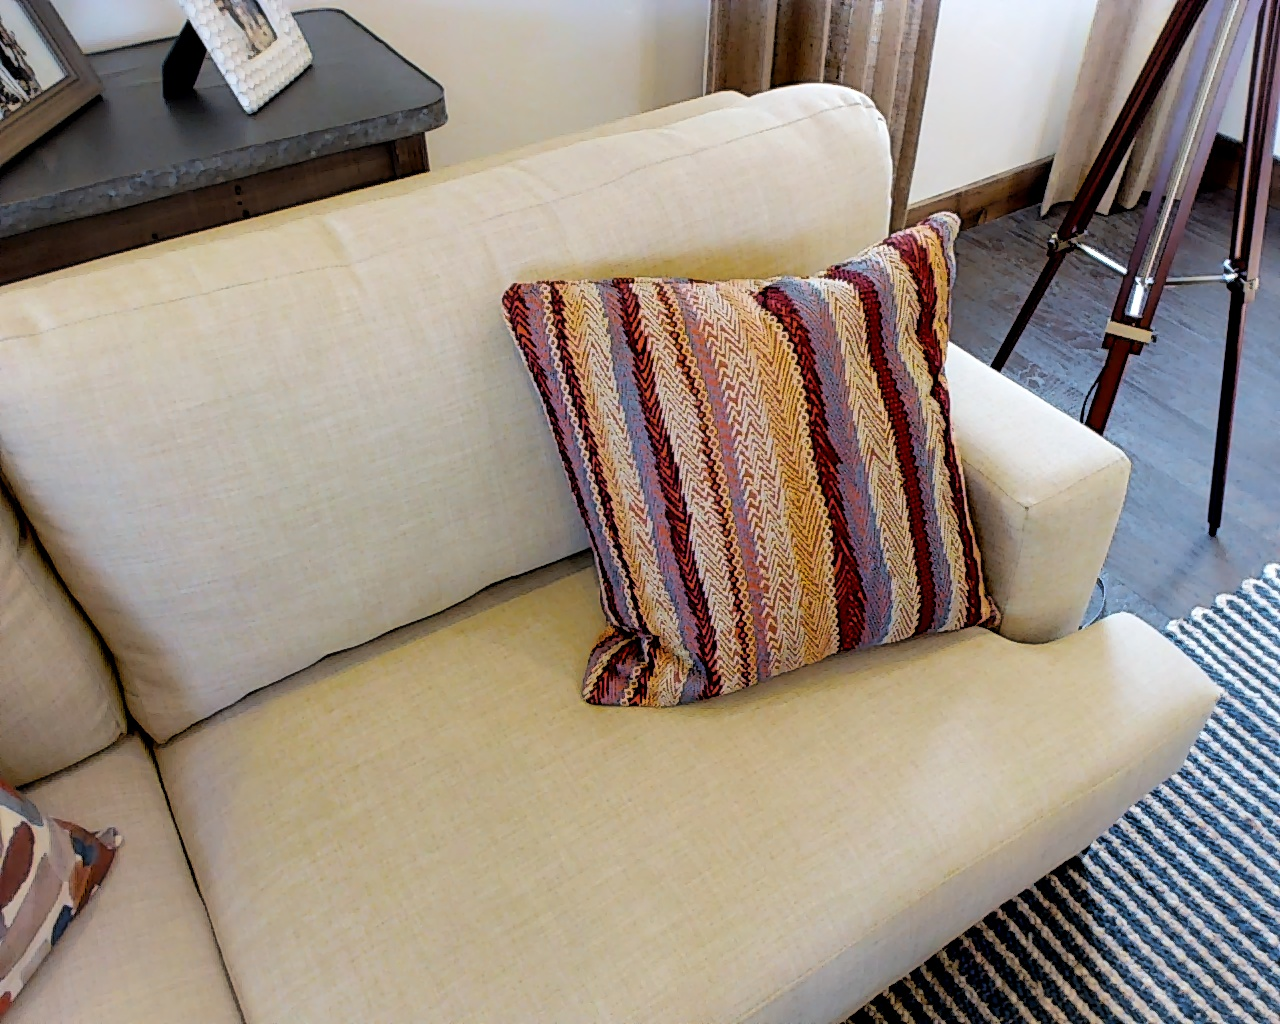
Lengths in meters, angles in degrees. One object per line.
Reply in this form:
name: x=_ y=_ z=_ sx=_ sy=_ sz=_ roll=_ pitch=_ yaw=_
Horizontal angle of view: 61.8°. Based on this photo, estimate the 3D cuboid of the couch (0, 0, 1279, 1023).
couch: x=-0.500 y=0.310 z=1.090 sx=2.290 sy=0.930 sz=1.090 roll=-24 pitch=47 yaw=-23

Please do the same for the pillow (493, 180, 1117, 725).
pillow: x=0.180 y=-0.050 z=1.190 sx=0.520 sy=0.440 sz=0.240 roll=15 pitch=11 yaw=-29
